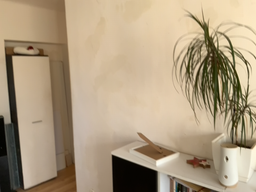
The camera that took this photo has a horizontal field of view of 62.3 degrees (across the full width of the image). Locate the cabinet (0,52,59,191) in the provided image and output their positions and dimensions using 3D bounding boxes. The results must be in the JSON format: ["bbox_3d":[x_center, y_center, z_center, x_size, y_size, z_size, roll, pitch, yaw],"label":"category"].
[{"bbox_3d":[-1.440,0.350,3.110,0.390,1.890,0.550,3,8,41],"label":"cabinet"}]
